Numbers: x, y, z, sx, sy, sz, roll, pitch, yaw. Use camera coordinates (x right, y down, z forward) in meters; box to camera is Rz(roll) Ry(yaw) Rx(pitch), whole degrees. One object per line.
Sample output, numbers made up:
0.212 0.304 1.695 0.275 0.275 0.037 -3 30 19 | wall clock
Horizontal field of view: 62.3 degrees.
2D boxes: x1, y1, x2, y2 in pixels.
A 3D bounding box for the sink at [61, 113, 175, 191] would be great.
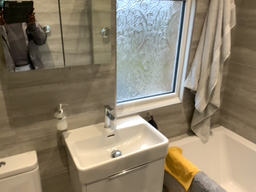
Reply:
-0.070 0.300 1.300 0.570 0.130 0.390 -10 25 -26 | sink
